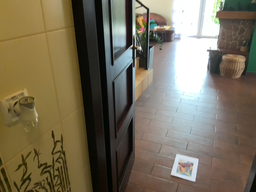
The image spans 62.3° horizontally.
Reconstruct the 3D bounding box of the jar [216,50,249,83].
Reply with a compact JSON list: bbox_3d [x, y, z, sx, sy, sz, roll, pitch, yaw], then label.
[{"bbox_3d":[2.080,-0.610,4.280,0.470,0.480,0.500,9,27,18],"label":"jar"}]
